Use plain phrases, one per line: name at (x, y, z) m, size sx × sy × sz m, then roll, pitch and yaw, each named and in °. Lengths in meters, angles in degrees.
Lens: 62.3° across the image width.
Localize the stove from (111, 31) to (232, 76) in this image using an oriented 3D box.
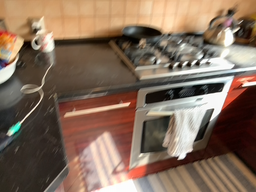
stove at (0.240, -0.300, 1.340) m, size 0.560 × 0.040 × 0.540 m, roll -8°, pitch 36°, yaw -19°
